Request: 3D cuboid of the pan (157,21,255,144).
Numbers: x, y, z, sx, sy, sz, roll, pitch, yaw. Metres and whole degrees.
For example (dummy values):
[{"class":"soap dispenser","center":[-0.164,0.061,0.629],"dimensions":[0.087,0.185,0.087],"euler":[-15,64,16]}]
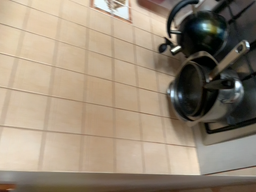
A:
[{"class":"pan","center":[0.230,-0.030,0.690],"dimensions":[0.230,0.120,0.310],"euler":[-39,47,49]}]
